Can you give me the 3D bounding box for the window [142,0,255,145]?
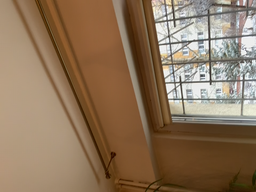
[{"bbox_3d":[0.550,-0.130,1.130,0.200,0.790,0.840,-59,-38,-52],"label":"window"}]
